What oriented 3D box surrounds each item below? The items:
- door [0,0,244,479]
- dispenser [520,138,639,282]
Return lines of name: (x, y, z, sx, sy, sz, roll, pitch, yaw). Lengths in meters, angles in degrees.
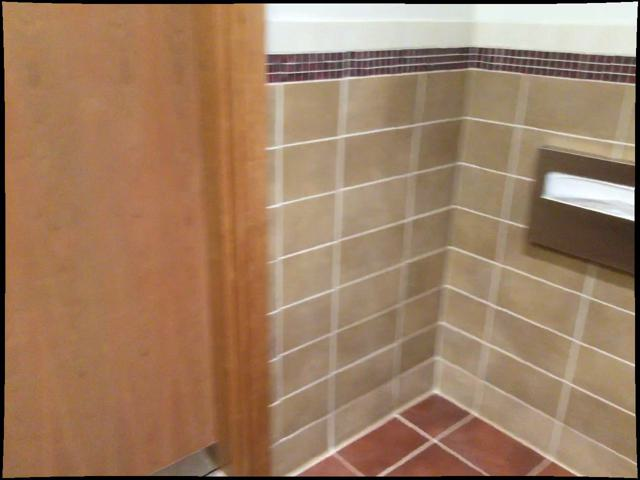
door: (-0.629, -0.170, 1.190, 0.919, 2.062, 0.090, -16, 27, -35)
dispenser: (0.759, -0.080, 1.530, 0.070, 0.300, 0.440, -16, 27, -35)
